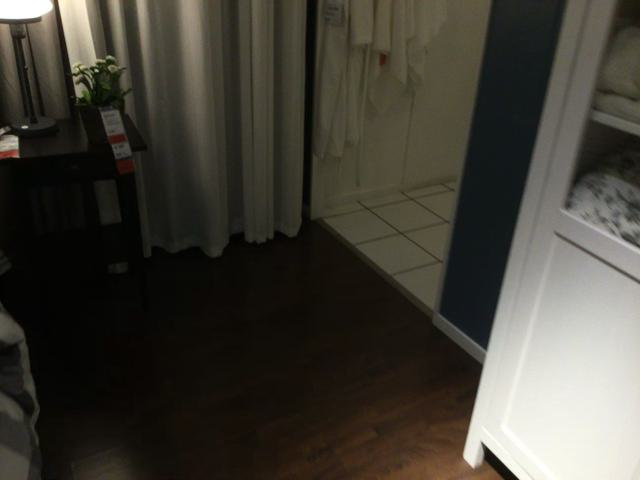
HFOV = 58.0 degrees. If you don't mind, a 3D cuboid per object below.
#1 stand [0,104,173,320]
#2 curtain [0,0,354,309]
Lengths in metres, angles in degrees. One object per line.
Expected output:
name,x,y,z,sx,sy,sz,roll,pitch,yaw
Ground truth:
stand,-0.860,-0.130,2.090,0.470,0.560,0.490,-13,30,-24
curtain,-0.500,-1.020,2.050,1.260,2.460,0.320,-13,30,-24
